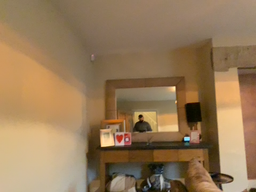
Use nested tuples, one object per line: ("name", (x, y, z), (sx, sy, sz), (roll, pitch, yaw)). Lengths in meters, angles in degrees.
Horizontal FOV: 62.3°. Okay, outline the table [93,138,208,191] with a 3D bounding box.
("table", (0.300, 1.080, 3.070), (1.520, 0.840, 0.460), (-2, -5, 4))
